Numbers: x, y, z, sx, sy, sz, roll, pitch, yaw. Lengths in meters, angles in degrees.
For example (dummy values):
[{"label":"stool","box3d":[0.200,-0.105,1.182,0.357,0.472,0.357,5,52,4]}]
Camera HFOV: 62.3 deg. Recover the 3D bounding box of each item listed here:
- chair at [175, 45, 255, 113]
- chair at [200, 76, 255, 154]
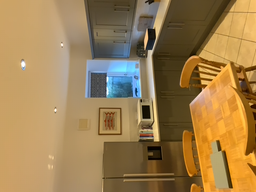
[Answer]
[{"label":"chair","box3d":[1.040,-0.160,2.240,0.520,0.880,0.510,102,166,-66]},{"label":"chair","box3d":[1.120,0.180,1.700,0.560,0.820,0.490,106,163,-70]}]
